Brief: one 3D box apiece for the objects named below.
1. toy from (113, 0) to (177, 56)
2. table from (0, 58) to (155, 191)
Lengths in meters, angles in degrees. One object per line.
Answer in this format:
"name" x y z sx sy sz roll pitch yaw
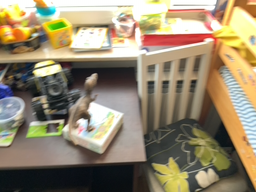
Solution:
"toy" 0.070 -0.390 1.100 0.280 0.290 0.200 0 44 -1
"table" -0.360 0.280 1.180 0.860 0.740 0.620 -1 44 -3
